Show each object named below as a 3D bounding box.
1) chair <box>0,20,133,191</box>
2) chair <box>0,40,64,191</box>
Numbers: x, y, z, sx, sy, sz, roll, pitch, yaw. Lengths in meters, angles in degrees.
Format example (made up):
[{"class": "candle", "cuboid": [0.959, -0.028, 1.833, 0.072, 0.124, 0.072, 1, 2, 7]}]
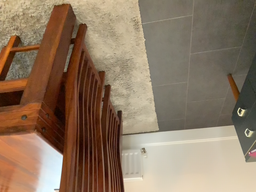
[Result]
[{"class": "chair", "cuboid": [-0.270, 0.200, 1.060, 0.510, 1.160, 0.430, -7, 145, 7]}, {"class": "chair", "cuboid": [-0.790, 0.290, 1.170, 0.550, 1.160, 0.430, -8, 145, 9]}]
